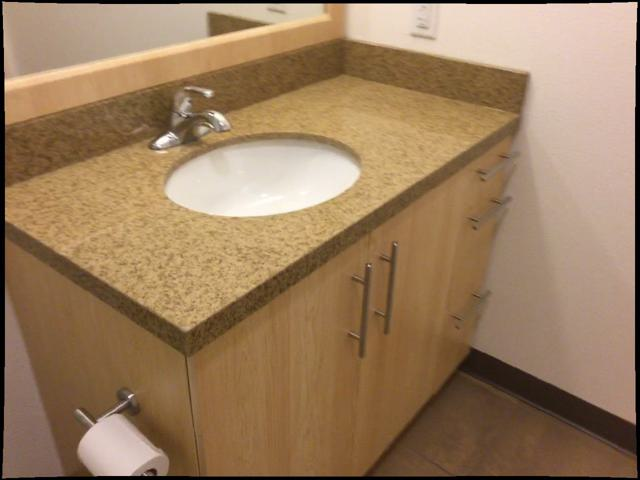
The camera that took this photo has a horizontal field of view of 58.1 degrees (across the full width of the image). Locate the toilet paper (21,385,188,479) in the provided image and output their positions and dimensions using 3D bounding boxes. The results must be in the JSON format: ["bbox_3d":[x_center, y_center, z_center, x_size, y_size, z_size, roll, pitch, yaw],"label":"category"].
[{"bbox_3d":[-0.329,0.361,0.900,0.190,0.130,0.150,24,39,32],"label":"toilet paper"}]

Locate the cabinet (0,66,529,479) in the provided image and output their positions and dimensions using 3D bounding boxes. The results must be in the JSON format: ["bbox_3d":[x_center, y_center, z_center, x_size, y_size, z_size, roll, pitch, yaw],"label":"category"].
[{"bbox_3d":[-0.070,0.170,1.430,0.579,0.852,1.149,24,39,32],"label":"cabinet"}]

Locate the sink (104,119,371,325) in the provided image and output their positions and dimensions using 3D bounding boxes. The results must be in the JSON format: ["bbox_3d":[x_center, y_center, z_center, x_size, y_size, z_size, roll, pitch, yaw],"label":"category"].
[{"bbox_3d":[-0.150,-0.070,1.200,0.300,0.180,0.450,24,39,32],"label":"sink"}]
